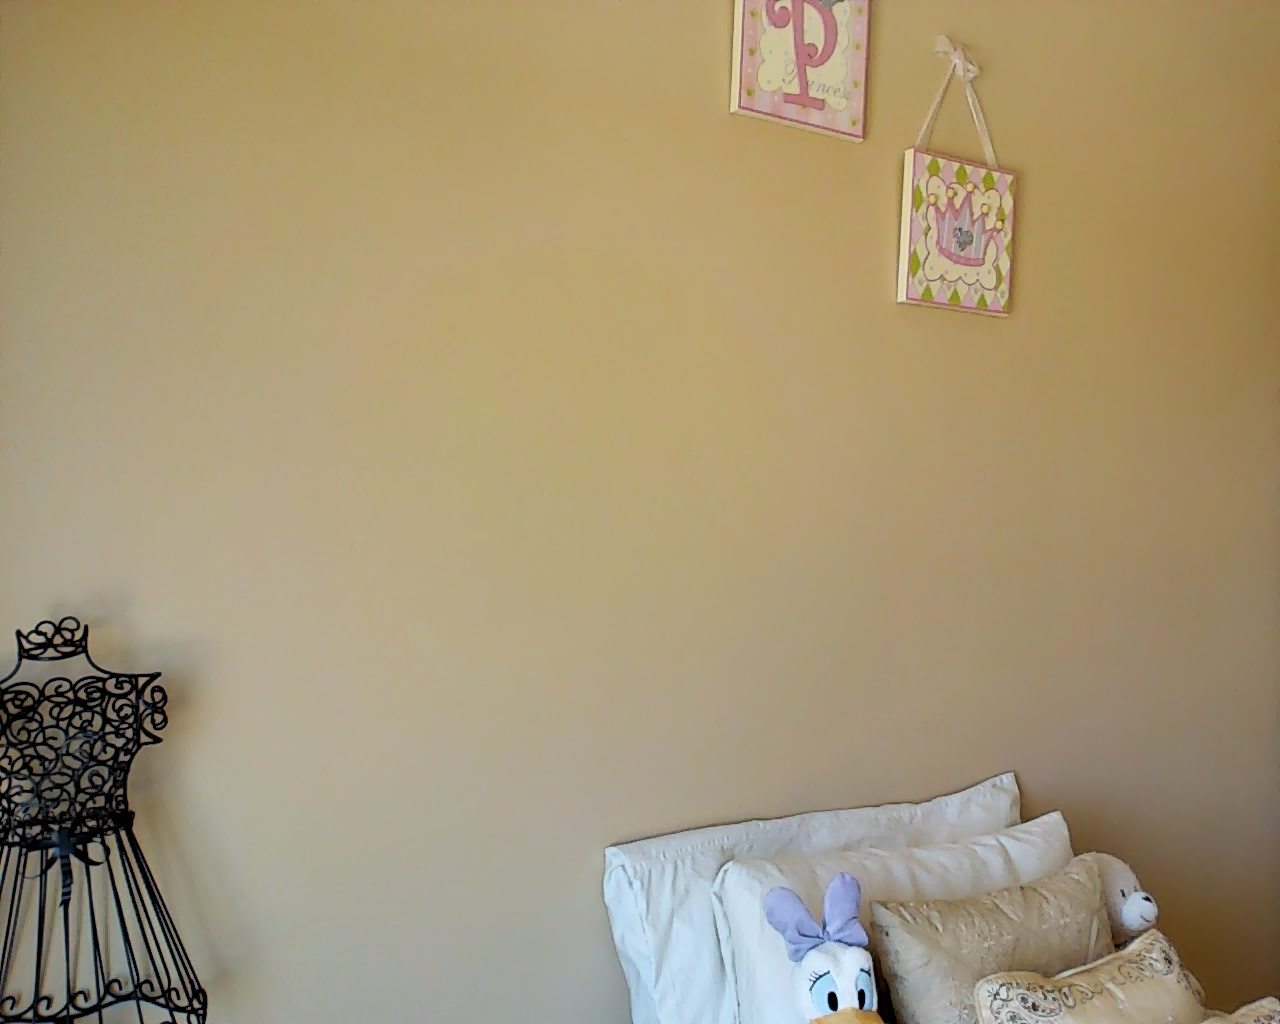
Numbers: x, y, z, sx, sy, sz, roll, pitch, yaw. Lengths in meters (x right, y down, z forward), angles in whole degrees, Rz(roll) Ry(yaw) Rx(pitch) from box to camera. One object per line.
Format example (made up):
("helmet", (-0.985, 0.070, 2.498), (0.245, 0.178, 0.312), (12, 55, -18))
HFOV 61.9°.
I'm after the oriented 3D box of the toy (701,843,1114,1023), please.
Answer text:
("toy", (0.290, 0.660, 1.260), (0.260, 0.390, 0.410), (2, 0, -28))
